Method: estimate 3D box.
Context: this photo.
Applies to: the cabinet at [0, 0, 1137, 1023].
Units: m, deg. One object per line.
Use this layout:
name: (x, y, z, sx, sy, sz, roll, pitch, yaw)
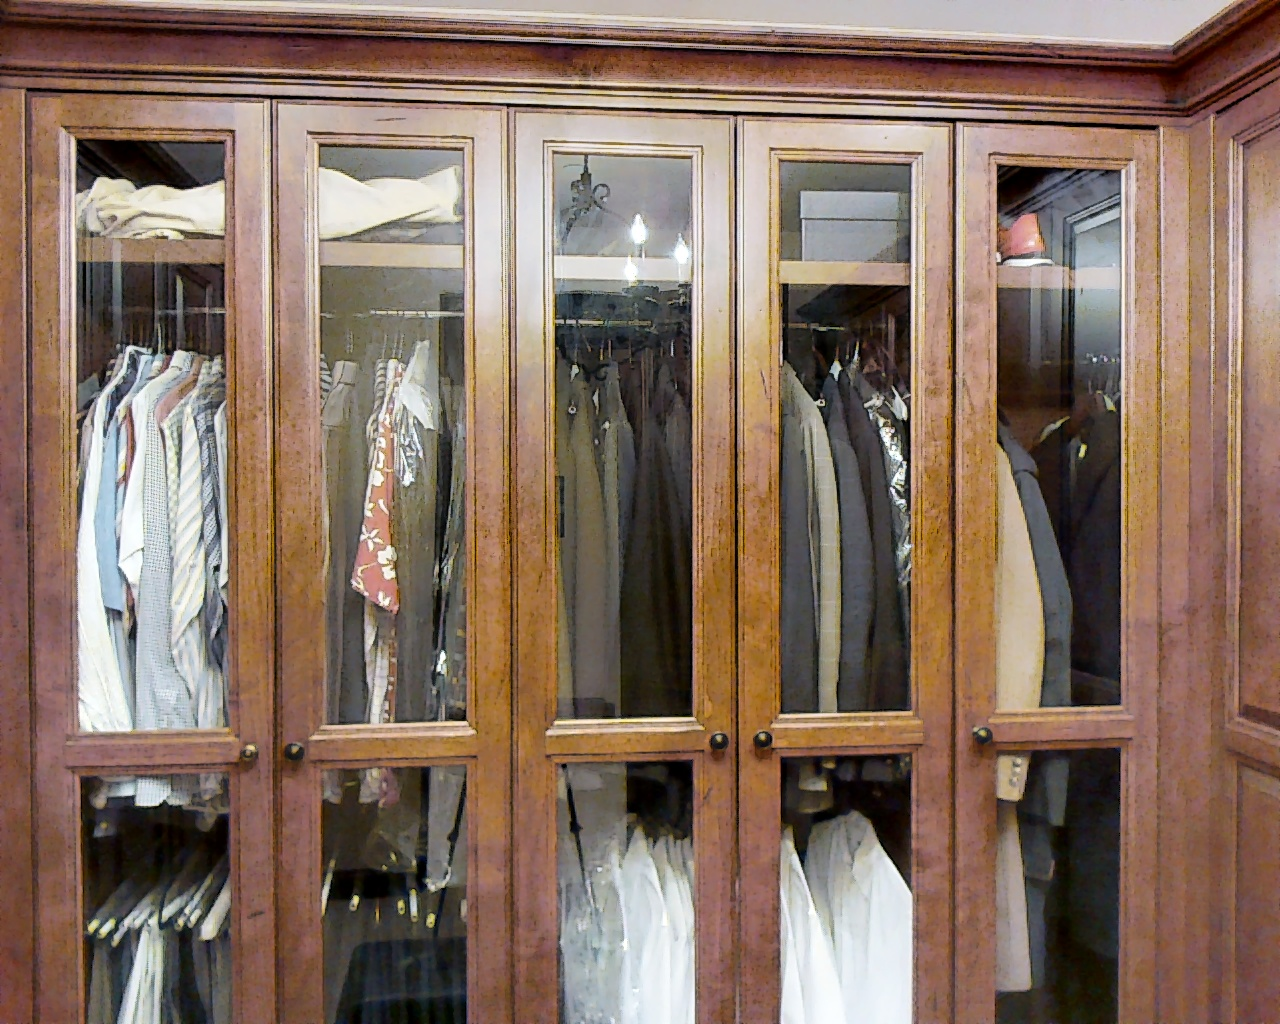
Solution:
cabinet: (0.220, 0.460, 1.710, 0.390, 2.390, 2.470, 0, 0, 40)
